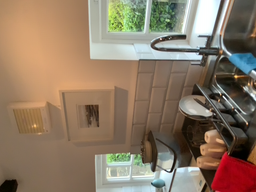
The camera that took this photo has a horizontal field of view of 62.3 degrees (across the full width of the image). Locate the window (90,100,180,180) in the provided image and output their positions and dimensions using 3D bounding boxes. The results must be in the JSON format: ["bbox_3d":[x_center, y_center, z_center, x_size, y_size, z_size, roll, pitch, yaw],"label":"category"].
[{"bbox_3d":[0.030,0.490,2.200,0.130,0.810,0.990,-102,14,-55],"label":"window"}]
